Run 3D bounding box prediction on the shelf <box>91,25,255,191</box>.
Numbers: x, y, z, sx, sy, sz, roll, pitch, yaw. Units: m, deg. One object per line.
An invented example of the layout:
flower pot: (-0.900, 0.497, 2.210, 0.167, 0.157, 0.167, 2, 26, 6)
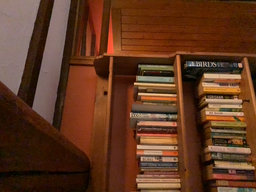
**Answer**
shelf: (0.800, 0.210, 1.030, 0.360, 1.860, 0.960, 95, 177, -69)
